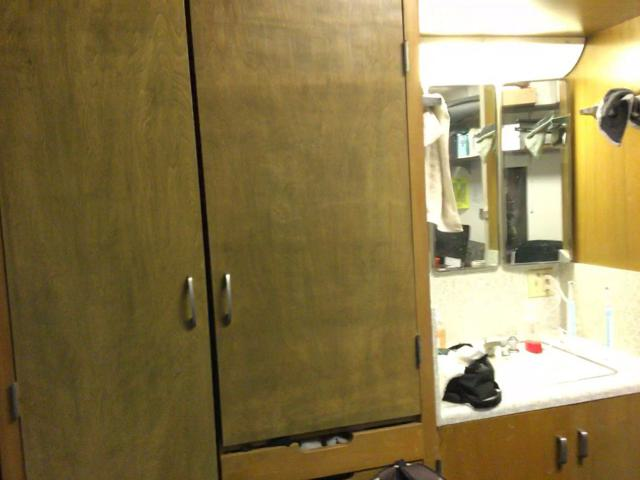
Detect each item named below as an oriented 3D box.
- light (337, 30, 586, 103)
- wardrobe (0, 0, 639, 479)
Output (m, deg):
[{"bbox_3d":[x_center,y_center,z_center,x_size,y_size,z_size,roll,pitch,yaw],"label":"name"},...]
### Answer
[{"bbox_3d":[0.510,-0.630,2.110,0.850,0.170,0.250,-6,4,-12],"label":"light"},{"bbox_3d":[0.590,-0.100,1.840,3.050,2.750,0.810,-6,4,-12],"label":"wardrobe"}]
